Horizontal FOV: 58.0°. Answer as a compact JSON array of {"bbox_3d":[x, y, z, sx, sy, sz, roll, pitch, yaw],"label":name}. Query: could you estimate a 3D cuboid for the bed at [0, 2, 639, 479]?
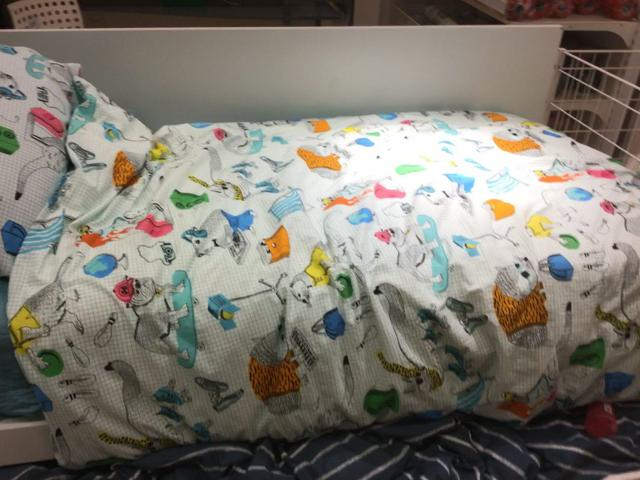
[{"bbox_3d":[0.030,0.080,1.520,2.190,1.000,1.400,-6,33,-9],"label":"bed"}]
